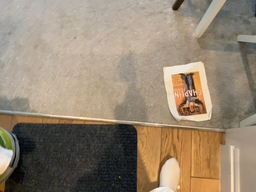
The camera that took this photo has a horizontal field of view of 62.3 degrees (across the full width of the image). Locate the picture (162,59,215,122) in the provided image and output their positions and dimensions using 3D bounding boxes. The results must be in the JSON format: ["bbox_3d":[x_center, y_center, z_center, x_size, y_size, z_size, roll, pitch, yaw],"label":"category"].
[{"bbox_3d":[0.300,-0.030,1.060,0.200,0.030,0.290,-8,78,-4],"label":"picture"}]
